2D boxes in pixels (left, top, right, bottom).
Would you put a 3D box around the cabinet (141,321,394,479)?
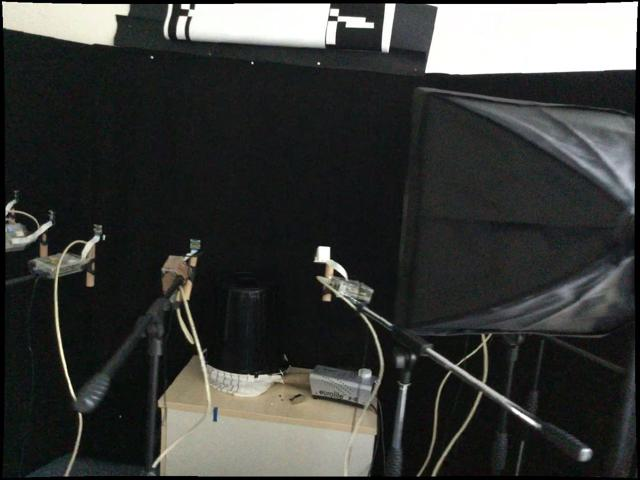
[{"bbox_3d":[-0.180,0.751,2.290,0.879,0.611,0.500,6,14,6],"label":"cabinet"}]
